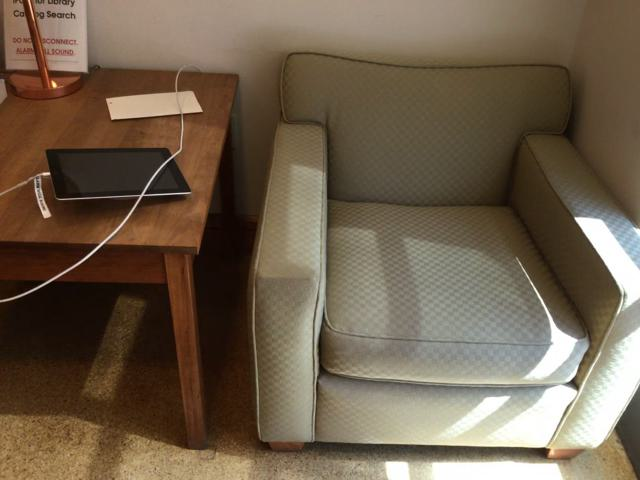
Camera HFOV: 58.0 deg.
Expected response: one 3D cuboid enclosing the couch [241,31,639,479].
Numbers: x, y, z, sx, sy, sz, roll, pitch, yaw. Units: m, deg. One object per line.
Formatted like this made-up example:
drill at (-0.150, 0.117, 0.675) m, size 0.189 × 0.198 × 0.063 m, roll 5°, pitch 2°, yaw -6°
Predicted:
couch at (0.300, 0.010, 1.490) m, size 0.920 × 0.780 × 0.840 m, roll 3°, pitch 35°, yaw -3°
